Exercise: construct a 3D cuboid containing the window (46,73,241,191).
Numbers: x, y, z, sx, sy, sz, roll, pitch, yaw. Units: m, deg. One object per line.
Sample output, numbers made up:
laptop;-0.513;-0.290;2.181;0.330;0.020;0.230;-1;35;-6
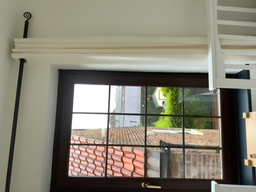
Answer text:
window;0.150;0.320;1.830;0.080;1.590;0.980;100;172;-82
